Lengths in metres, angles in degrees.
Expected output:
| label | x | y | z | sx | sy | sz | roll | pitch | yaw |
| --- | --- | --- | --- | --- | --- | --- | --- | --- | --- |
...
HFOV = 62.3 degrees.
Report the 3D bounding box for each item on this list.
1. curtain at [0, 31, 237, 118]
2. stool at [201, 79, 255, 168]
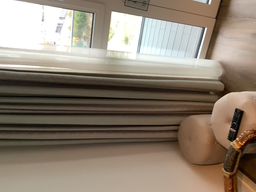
| label | x | y | z | sx | sy | sz | roll | pitch | yaw |
| --- | --- | --- | --- | --- | --- | --- | --- | --- | --- |
| curtain | -0.320 | -0.130 | 1.550 | 0.280 | 2.550 | 0.480 | -130 | 46 | -57 |
| stool | 0.840 | 0.150 | 1.380 | 0.410 | 0.450 | 0.380 | -132 | 48 | -58 |
